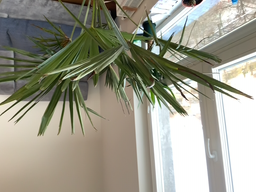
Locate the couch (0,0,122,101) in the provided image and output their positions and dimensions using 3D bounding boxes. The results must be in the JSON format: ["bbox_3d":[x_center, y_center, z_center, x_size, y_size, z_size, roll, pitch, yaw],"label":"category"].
[{"bbox_3d":[-1.360,-0.510,2.480,2.290,0.990,1.090,1,170,-23],"label":"couch"}]
